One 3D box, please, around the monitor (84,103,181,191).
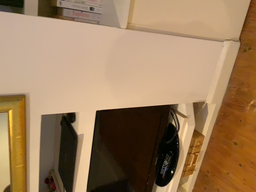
[{"bbox_3d":[0.020,0.430,1.340,0.020,0.590,0.800,36,121,52],"label":"monitor"}]
